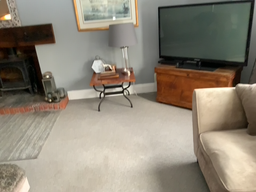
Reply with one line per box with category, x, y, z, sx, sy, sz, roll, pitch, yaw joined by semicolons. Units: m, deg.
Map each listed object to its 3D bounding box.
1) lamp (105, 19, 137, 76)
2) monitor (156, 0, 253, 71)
lamp;-0.090;-0.710;3.090;0.380;0.720;0.430;-5;23;0
monitor;0.870;-0.760;2.680;1.150;0.750;0.070;14;29;37
